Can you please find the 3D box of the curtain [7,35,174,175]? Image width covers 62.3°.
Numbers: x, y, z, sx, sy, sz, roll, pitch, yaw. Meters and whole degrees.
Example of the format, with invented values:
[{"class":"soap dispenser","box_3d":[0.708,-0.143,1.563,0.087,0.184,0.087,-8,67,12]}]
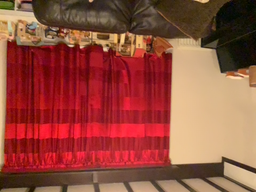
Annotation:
[{"class":"curtain","box_3d":[-0.430,0.130,2.970,2.220,1.760,0.150,1,178,-11]}]
